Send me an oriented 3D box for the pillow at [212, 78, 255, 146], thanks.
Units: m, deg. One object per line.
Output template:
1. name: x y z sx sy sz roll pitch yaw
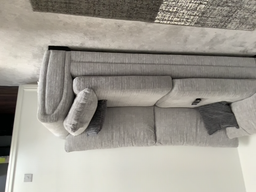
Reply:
1. pillow: 1.200 0.190 2.250 0.240 0.410 0.680 -1 142 -6

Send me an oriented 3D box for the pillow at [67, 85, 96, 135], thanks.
1. pillow: -0.400 0.140 1.900 0.210 0.340 0.440 0 162 -7

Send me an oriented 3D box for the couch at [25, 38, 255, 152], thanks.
1. couch: 0.310 0.090 2.290 2.300 0.860 1.020 0 162 -9

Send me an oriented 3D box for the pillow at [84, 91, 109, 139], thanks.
1. pillow: -0.320 0.200 2.120 0.140 0.350 0.380 12 150 -10

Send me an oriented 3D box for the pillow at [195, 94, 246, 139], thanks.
1. pillow: 1.000 0.230 2.330 0.390 0.300 0.200 -33 130 24
